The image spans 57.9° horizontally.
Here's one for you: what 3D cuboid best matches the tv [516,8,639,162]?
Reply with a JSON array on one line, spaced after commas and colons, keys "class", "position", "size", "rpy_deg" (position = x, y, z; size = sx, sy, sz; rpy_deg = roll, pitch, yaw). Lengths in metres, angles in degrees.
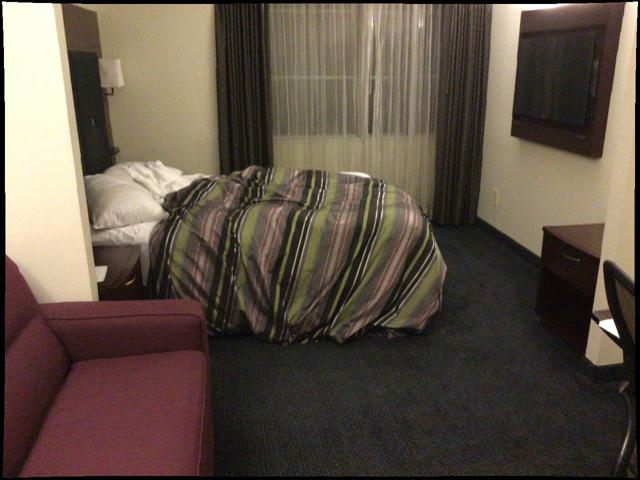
[{"class": "tv", "position": [1.658, -1.041, 3.800], "size": [0.160, 0.851, 1.050], "rpy_deg": [-2, 20, -8]}]
